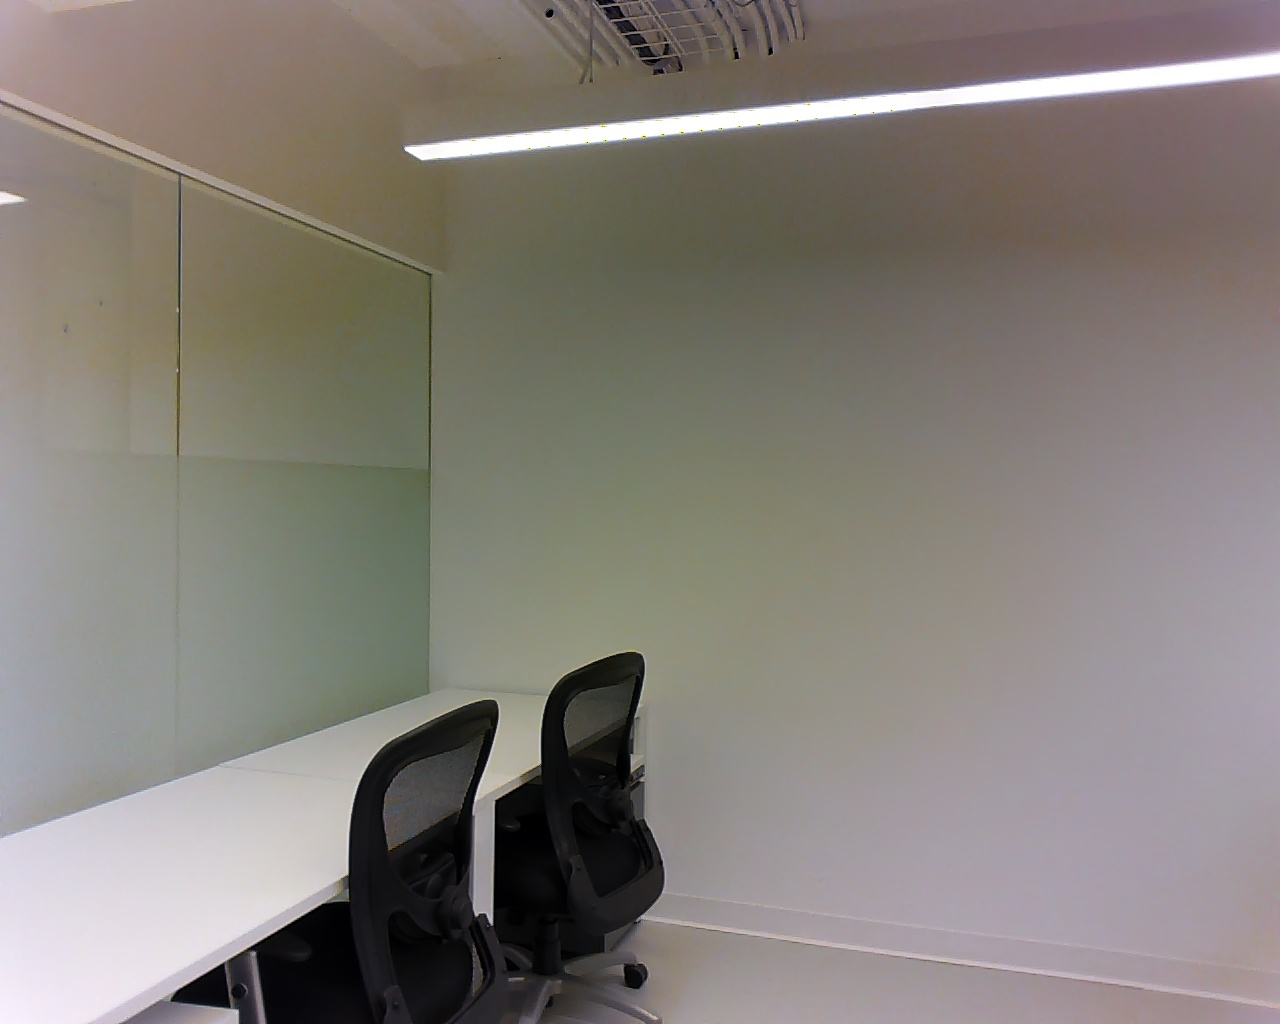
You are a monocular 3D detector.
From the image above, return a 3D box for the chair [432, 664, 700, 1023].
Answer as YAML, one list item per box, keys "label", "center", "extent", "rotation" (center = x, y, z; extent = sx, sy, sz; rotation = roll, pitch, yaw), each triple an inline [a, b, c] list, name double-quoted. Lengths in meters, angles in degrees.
- label: "chair"
  center: [-0.210, 0.940, 2.950]
  extent: [0.640, 0.940, 0.720]
  rotation: [1, 0, -5]

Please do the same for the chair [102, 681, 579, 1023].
- label: "chair"
  center: [-0.570, 0.910, 2.200]
  extent: [0.690, 0.990, 0.660]
  rotation: [1, 0, 17]

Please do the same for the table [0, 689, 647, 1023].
- label: "table"
  center: [-1.130, 1.040, 1.450]
  extent: [0.880, 0.770, 4.930]
  rotation: [1, 0, 17]
